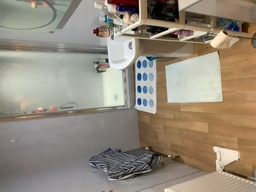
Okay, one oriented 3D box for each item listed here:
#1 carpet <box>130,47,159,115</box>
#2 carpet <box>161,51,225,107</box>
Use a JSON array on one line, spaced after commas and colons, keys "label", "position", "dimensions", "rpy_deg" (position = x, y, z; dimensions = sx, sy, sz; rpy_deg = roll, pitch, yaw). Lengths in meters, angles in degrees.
[{"label": "carpet", "position": [0.220, -0.180, 3.010], "dimensions": [0.550, 0.030, 0.900], "rpy_deg": [-7, 87, 60]}, {"label": "carpet", "position": [0.640, -0.130, 2.250], "dimensions": [0.810, 0.030, 0.500], "rpy_deg": [-6, 88, 60]}]
